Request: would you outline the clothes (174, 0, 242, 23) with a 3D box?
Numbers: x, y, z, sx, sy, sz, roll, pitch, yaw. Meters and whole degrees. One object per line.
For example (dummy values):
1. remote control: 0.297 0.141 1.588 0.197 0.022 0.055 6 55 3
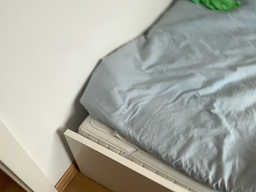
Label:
1. clothes: 0.610 -0.710 1.600 0.430 0.090 0.270 23 53 19
